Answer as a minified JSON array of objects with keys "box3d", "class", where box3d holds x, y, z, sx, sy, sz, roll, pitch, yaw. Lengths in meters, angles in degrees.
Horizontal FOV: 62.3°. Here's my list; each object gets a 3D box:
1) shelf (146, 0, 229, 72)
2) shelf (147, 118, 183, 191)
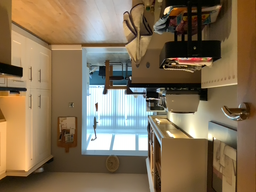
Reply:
[{"box3d":[0.310,-0.600,1.280,0.360,0.850,0.520,0,-179,0],"class":"shelf"},{"box3d":[0.460,0.740,2.750,0.400,0.850,0.470,0,-179,3],"class":"shelf"}]
